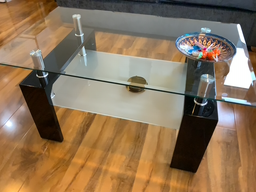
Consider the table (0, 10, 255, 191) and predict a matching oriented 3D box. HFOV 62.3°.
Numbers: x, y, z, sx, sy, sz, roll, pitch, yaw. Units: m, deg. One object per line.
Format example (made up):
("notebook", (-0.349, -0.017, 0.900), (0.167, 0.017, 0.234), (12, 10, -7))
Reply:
("table", (0.070, -0.030, 0.940), (0.870, 0.420, 0.530), (10, 43, 11))
